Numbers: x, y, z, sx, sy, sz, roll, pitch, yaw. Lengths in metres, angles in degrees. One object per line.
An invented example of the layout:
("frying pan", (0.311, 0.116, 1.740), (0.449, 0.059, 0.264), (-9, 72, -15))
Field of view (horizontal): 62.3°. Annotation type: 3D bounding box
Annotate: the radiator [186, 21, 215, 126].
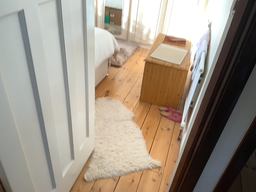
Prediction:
("radiator", (0.730, -0.310, 2.180), (0.060, 0.590, 1.210), (14, 37, 9))
